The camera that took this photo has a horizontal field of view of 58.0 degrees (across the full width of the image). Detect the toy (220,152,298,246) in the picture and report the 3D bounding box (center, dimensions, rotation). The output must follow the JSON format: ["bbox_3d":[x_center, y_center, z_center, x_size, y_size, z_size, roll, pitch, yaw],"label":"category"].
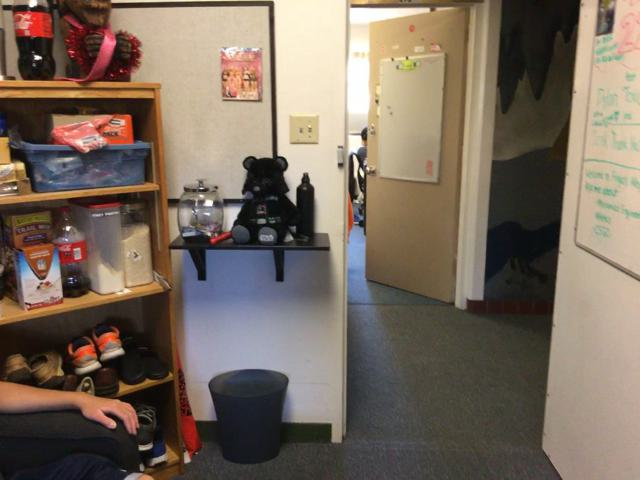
[{"bbox_3d":[-0.220,-0.160,2.170,0.240,0.330,0.240,0,10,5],"label":"toy"}]

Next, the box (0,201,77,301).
[{"bbox_3d":[-0.970,0.030,1.990,0.190,0.300,0.170,-8,12,-34],"label":"box"}]

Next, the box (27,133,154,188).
[{"bbox_3d":[-0.790,-0.280,2.000,0.370,0.170,0.190,-7,11,-30],"label":"box"}]

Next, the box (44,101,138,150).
[{"bbox_3d":[-0.790,-0.390,1.990,0.260,0.150,0.240,-6,11,-29],"label":"box"}]
